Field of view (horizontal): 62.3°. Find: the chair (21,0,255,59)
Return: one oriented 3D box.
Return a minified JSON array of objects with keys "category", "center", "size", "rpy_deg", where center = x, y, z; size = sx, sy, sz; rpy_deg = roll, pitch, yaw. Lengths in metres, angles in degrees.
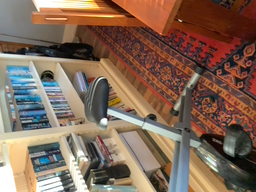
[{"category":"chair","center":[0.150,-0.560,0.970],"size":[0.450,1.100,0.530],"rpy_deg":[52,130,39]}]
